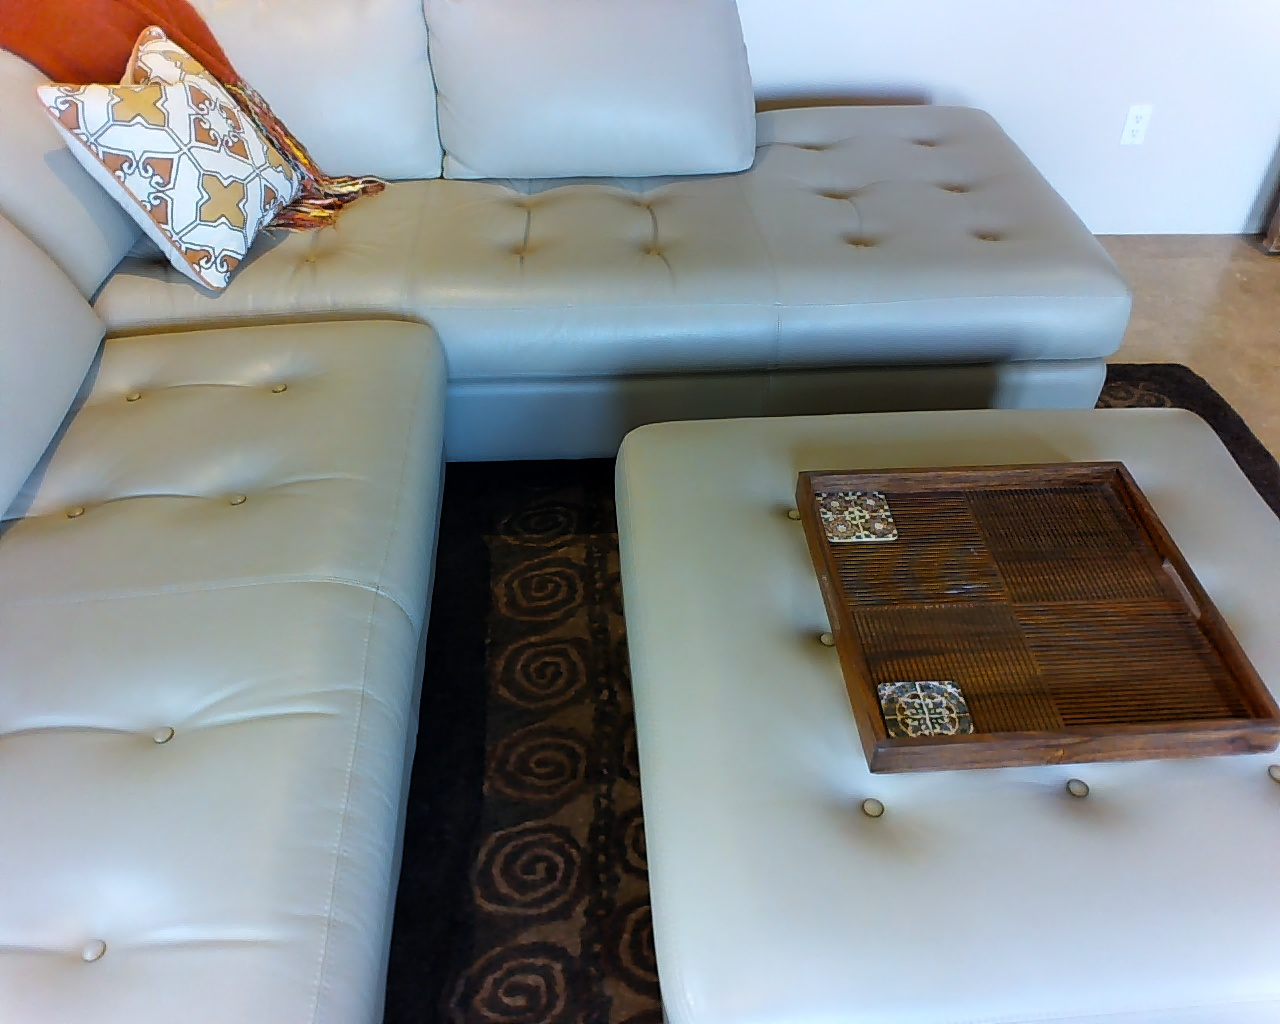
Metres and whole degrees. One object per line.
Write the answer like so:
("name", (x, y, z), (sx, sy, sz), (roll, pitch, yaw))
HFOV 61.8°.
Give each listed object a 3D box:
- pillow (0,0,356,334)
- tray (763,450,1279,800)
("pillow", (-0.840, -0.680, 1.990), (0.220, 0.470, 0.460), (-25, -50, 32))
("tray", (0.450, 0.110, 1.340), (0.510, 0.050, 0.520), (-2, 41, -3))
